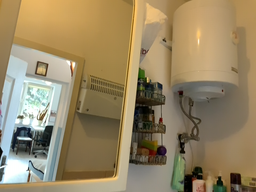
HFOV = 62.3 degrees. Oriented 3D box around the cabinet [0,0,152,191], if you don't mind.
[{"bbox_3d":[-0.190,-0.140,0.720,0.470,0.890,0.280,15,-16,-41],"label":"cabinet"}]
